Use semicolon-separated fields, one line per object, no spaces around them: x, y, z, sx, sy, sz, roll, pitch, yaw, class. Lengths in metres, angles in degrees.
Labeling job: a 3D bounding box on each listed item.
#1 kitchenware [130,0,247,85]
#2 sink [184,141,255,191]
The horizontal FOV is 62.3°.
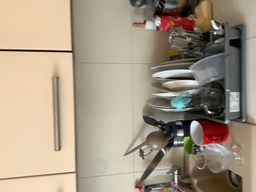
0.210;-0.370;0.920;0.500;0.280;0.600;-147;57;-75;kitchenware
0.430;0.370;0.990;0.420;0.150;0.220;-174;84;-77;sink
